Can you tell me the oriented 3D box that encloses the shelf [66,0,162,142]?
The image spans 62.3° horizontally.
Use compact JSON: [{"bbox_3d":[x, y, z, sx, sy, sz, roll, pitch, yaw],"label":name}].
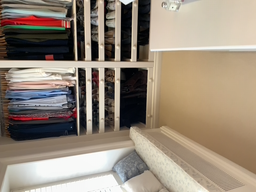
[{"bbox_3d":[-0.220,-0.470,3.050,0.640,1.170,1.970,-156,65,-65],"label":"shelf"}]
